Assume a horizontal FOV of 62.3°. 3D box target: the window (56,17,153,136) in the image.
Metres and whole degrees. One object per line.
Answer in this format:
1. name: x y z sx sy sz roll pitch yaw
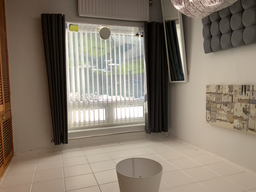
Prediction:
1. window: -0.340 -0.330 3.600 1.590 1.820 0.160 -3 -176 -21

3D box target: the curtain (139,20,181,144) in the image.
1. curtain: 0.530 -0.220 3.540 0.570 1.920 0.330 -3 -176 -18

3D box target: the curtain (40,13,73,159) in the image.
1. curtain: -1.020 -0.130 3.040 0.330 1.970 0.250 -3 -176 -21
